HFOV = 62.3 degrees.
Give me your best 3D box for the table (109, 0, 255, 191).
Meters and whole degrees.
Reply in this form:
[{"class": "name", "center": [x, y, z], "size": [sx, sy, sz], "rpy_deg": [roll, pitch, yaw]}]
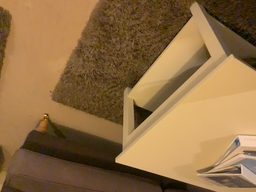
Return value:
[{"class": "table", "center": [0.520, 0.120, 1.090], "size": [1.010, 0.460, 0.670], "rpy_deg": [24, 131, -22]}]
